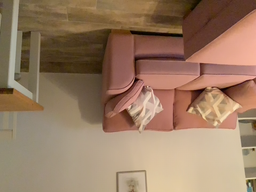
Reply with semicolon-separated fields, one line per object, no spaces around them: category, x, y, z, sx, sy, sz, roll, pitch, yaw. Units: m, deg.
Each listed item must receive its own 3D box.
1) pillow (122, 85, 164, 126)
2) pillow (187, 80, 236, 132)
pillow;0.200;0.120;2.550;0.440;0.470;0.190;-46;-102;6
pillow;1.060;0.120;2.690;0.240;0.520;0.470;-44;-137;-17
